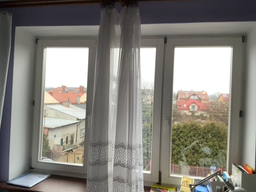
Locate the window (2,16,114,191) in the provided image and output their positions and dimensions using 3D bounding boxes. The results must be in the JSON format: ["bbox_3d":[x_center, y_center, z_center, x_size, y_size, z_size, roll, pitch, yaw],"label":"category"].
[{"bbox_3d":[-0.670,0.080,2.060,0.950,1.540,0.320,2,0,15],"label":"window"}]

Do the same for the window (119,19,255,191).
[{"bbox_3d":[0.520,0.150,1.890,1.120,1.560,0.320,2,0,5],"label":"window"}]
